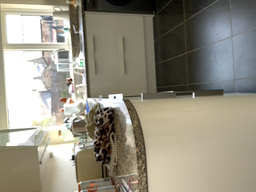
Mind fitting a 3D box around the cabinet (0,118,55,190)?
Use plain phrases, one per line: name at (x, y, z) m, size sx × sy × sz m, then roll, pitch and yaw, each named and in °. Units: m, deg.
cabinet at (-1.110, 0.470, 1.920) m, size 1.020 × 0.780 × 0.360 m, roll -178°, pitch 85°, yaw -73°
